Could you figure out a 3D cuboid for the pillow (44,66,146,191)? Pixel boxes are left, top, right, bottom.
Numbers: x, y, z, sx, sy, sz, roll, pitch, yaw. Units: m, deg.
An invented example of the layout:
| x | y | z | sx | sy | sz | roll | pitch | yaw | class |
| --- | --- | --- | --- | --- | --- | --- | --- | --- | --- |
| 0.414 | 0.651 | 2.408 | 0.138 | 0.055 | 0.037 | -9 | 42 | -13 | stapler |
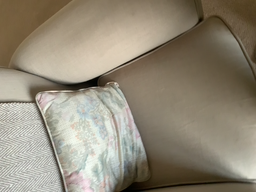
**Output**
| x | y | z | sx | sy | sz | roll | pitch | yaw | class |
| --- | --- | --- | --- | --- | --- | --- | --- | --- | --- |
| -0.090 | 0.120 | 0.670 | 0.090 | 0.290 | 0.340 | -28 | 53 | 32 | pillow |
